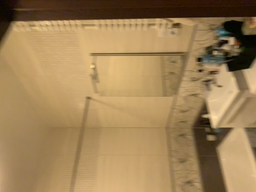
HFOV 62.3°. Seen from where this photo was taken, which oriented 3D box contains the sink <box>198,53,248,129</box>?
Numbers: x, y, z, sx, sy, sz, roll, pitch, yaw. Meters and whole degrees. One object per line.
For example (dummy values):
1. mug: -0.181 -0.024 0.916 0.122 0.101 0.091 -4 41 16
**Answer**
1. sink: 0.830 -0.020 1.950 0.640 0.130 0.400 89 -179 -56
